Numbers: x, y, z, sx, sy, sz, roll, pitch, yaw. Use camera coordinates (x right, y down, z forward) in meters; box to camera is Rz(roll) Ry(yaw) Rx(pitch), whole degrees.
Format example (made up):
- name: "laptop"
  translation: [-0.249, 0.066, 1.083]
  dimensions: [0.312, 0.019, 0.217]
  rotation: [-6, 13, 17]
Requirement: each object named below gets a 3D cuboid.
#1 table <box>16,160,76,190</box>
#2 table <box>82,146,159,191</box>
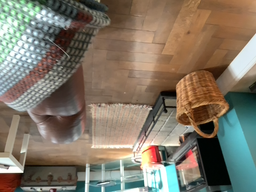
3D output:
- name: "table"
  translation: [-1.430, 1.430, 3.830]
  dimensions: [0.910, 0.380, 0.560]
  rotation: [5, 147, -15]
- name: "table"
  translation: [-0.140, 1.320, 3.670]
  dimensions: [1.160, 0.540, 0.570]
  rotation: [-18, 146, 21]
